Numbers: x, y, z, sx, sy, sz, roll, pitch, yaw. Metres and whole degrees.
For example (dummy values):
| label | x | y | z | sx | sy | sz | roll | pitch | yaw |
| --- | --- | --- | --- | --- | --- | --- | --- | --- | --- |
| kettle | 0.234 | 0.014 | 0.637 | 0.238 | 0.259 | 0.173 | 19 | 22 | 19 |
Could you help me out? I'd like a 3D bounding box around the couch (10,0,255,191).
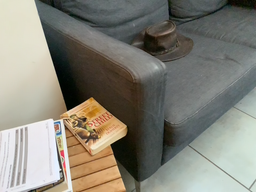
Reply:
| label | x | y | z | sx | sy | sz | roll | pitch | yaw |
| --- | --- | --- | --- | --- | --- | --- | --- | --- | --- |
| couch | 0.360 | -0.370 | 1.320 | 1.630 | 0.740 | 0.930 | -29 | 47 | -29 |
